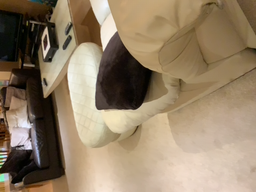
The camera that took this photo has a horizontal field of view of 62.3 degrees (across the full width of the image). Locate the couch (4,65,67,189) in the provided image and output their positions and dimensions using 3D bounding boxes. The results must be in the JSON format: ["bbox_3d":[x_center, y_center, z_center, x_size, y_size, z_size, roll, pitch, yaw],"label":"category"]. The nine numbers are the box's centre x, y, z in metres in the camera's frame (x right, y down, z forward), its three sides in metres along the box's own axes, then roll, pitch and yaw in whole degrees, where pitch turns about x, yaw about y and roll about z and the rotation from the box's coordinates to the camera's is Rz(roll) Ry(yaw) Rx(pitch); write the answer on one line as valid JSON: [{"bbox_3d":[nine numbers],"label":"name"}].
[{"bbox_3d":[-1.910,0.600,4.200,1.050,0.730,2.110,-36,63,49],"label":"couch"}]

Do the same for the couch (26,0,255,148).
[{"bbox_3d":[-0.070,-1.000,1.410,1.040,0.980,2.310,-38,61,48],"label":"couch"}]

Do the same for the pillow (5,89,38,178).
[{"bbox_3d":[-2.070,0.690,4.070,0.440,0.380,1.590,-36,64,49],"label":"pillow"}]
